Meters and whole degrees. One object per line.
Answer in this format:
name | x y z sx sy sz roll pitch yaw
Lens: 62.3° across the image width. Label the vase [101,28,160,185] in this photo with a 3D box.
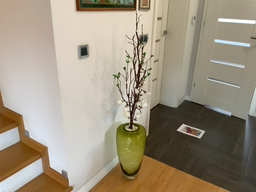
vase | 0.000 0.110 1.770 0.310 1.250 0.290 19 28 34
